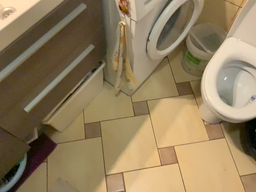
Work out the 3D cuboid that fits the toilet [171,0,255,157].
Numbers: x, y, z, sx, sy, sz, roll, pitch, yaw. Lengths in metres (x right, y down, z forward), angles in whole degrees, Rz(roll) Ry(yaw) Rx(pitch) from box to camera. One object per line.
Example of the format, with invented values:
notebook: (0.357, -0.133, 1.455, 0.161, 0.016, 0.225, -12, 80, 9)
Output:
toilet: (0.620, -0.150, 1.100, 0.370, 0.820, 0.650, 31, 66, 14)
